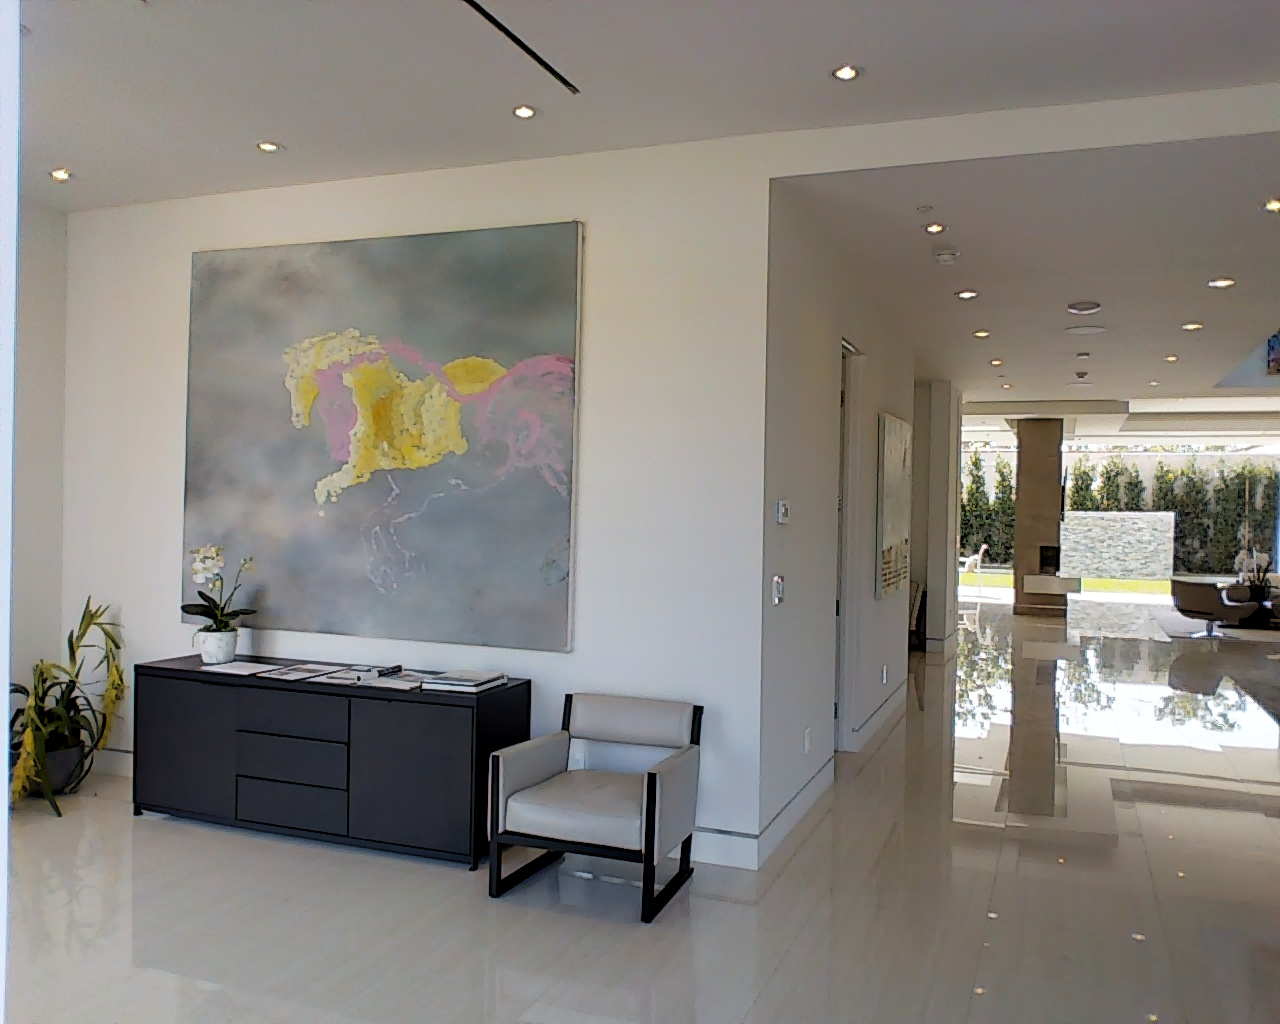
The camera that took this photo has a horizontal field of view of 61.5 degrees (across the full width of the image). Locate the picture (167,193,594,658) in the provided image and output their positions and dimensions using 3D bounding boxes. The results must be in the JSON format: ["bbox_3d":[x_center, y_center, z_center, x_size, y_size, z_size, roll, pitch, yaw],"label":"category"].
[{"bbox_3d":[-1.289,-0.390,5.080,2.219,1.981,0.190,1,1,21],"label":"picture"}]

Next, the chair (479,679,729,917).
[{"bbox_3d":[-0.120,1.100,4.340,0.760,0.680,0.760,1,1,21],"label":"chair"}]
